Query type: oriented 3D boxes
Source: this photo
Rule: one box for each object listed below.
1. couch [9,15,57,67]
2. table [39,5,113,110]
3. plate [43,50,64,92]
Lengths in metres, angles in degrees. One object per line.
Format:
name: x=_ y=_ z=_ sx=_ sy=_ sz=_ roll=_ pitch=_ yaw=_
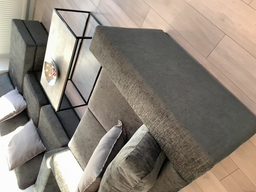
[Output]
couch: x=-1.450 y=-0.830 z=3.200 sx=0.660 sy=0.430 sz=0.420 roll=53 pitch=134 yaw=26
table: x=-0.640 y=-0.400 z=2.410 sx=0.520 sy=0.410 sz=1.000 roll=53 pitch=134 yaw=26
plate: x=-0.820 y=-0.270 z=2.310 sx=0.320 sy=0.050 sz=0.320 roll=52 pitch=133 yaw=27
